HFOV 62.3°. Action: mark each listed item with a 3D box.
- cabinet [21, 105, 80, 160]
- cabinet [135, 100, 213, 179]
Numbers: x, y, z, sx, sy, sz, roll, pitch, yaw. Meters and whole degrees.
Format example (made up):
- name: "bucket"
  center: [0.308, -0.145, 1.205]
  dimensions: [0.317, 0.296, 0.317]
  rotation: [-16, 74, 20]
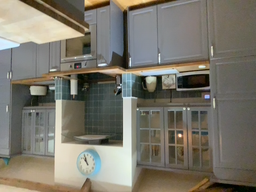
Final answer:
- name: "cabinet"
  center: [-1.430, 0.630, 3.910]
  dimensions: [0.980, 0.910, 0.430]
  rotation: [-2, 176, 24]
- name: "cabinet"
  center: [0.640, 0.550, 2.970]
  dimensions: [0.980, 0.940, 0.450]
  rotation: [-2, 176, 24]
